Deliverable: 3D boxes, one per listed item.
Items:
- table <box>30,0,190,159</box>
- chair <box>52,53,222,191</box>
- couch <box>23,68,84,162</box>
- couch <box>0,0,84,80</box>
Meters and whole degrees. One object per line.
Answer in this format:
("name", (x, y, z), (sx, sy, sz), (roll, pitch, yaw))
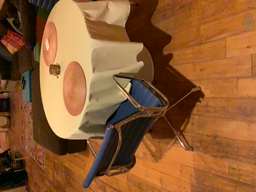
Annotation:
("table", (-0.290, -0.190, 1.900), (1.070, 0.750, 1.060), (-43, 59, 43))
("chair", (0.020, 0.190, 1.480), (0.630, 0.800, 0.650), (52, 129, 37))
("couch", (-1.220, 0.220, 3.330), (1.330, 0.490, 1.180), (2, 93, 52))
("couch", (-2.020, -1.040, 4.060), (3.530, 0.790, 1.290), (2, 93, 52))
